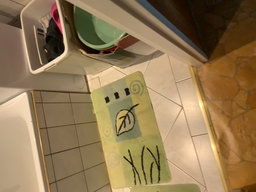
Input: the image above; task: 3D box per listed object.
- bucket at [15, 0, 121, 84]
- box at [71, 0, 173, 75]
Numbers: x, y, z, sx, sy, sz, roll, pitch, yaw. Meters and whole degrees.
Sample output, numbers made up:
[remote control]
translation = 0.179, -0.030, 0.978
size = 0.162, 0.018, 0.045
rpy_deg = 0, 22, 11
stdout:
[bucket]
translation = -0.380, -0.390, 1.420
size = 0.360, 0.500, 0.500
rpy_deg = -16, 81, 29
[box]
translation = -0.030, -0.450, 1.280
size = 0.380, 0.440, 0.520
rpy_deg = -14, 82, 29
